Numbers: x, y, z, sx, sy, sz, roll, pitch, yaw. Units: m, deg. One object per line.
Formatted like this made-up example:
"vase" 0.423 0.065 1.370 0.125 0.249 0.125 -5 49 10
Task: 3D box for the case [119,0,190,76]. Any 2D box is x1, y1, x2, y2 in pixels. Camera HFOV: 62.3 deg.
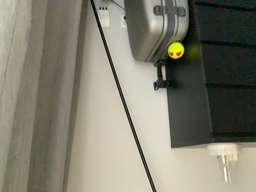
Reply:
"case" 0.120 -0.560 1.350 0.310 0.740 0.460 1 164 -7
